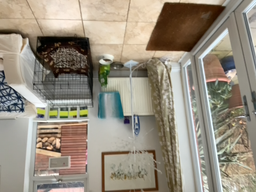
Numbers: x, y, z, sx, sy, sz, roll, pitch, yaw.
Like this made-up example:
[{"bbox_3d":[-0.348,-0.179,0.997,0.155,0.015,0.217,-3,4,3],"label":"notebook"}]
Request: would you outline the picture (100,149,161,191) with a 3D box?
[{"bbox_3d":[0.030,1.080,3.030,0.840,0.580,0.070,0,164,-9],"label":"picture"}]
